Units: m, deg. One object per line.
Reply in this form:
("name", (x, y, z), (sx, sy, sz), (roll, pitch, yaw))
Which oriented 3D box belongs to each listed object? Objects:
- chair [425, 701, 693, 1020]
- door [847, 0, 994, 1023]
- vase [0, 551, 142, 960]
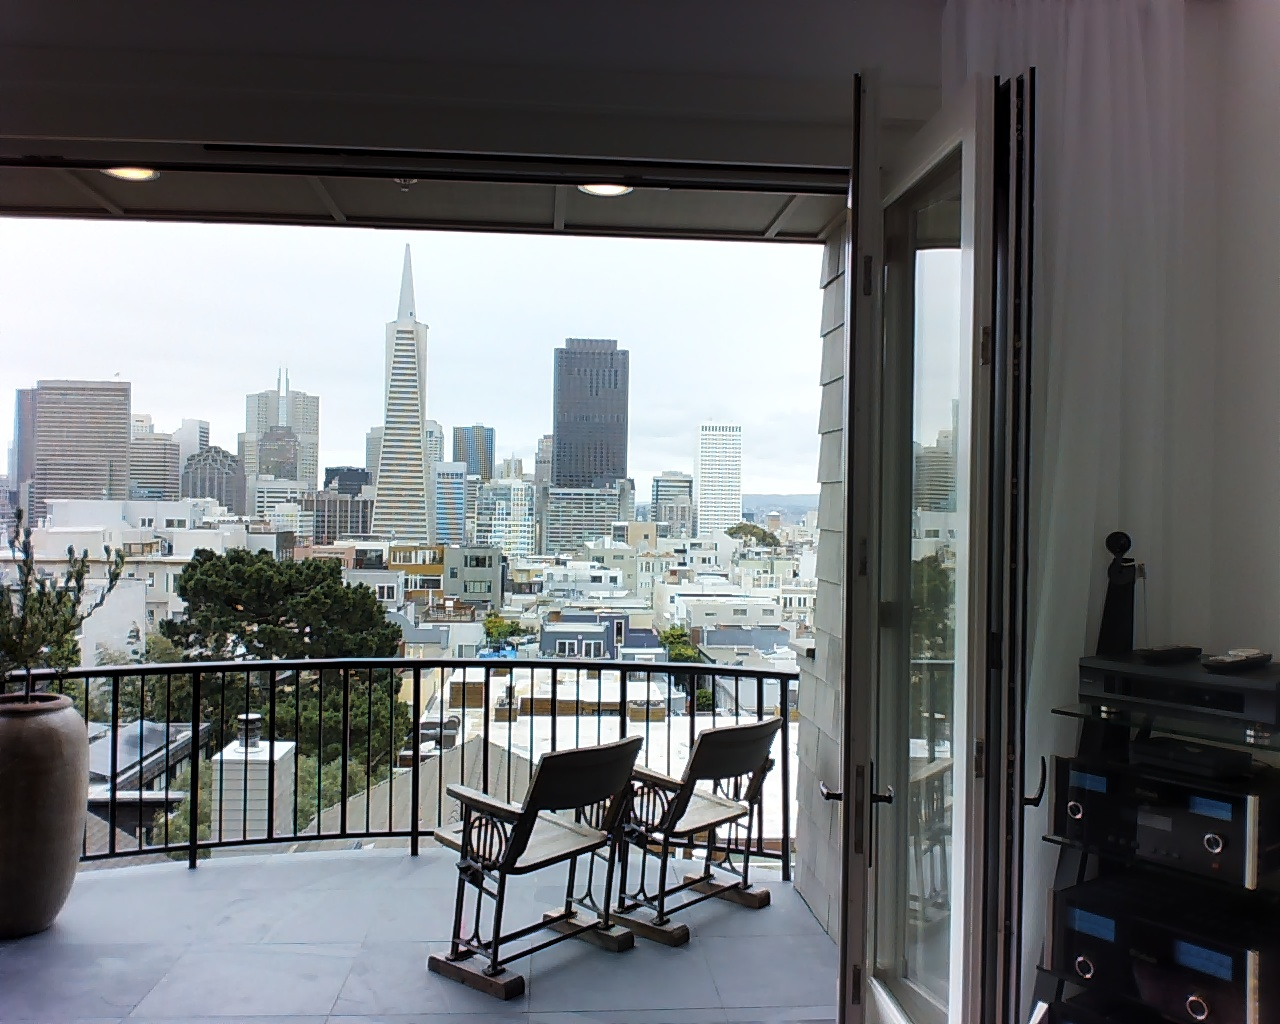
("chair", (-0.280, 1.160, 3.780), (0.670, 0.820, 0.650), (1, 0, 38))
("door", (0.650, 0.170, 2.610), (0.260, 2.760, 0.900), (1, 0, 11))
("vase", (-2.300, 0.860, 4.030), (0.610, 1.400, 0.590), (1, 0, -6))
